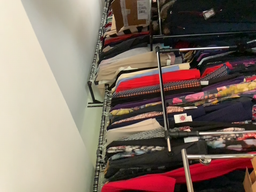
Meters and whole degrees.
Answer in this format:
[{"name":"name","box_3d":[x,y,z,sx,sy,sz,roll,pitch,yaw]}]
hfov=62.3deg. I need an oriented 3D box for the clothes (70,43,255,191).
[{"name":"clothes","box_3d":[0.600,0.150,1.650,1.380,1.760,0.390,-89,-6,-47]}]
